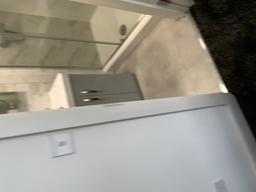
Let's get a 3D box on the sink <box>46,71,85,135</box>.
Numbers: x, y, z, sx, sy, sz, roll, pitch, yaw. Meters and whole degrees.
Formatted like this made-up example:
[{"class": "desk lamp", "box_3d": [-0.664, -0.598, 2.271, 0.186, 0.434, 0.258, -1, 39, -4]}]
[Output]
[{"class": "sink", "box_3d": [-0.630, 0.080, 2.060, 0.480, 0.160, 0.470, -38, 64, 50]}]
